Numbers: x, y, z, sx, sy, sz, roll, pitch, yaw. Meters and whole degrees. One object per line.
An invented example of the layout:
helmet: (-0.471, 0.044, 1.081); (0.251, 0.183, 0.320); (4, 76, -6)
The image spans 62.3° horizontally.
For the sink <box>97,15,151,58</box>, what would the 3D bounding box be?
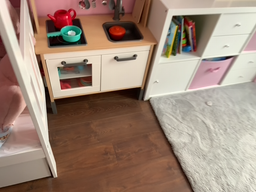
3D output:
sink: (-0.040, -0.410, 1.420); (0.280, 0.110, 0.320); (-8, 50, -16)

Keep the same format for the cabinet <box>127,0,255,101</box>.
cabinet: (0.790, -0.480, 1.760); (1.460, 0.760, 0.440); (-9, 50, -17)
